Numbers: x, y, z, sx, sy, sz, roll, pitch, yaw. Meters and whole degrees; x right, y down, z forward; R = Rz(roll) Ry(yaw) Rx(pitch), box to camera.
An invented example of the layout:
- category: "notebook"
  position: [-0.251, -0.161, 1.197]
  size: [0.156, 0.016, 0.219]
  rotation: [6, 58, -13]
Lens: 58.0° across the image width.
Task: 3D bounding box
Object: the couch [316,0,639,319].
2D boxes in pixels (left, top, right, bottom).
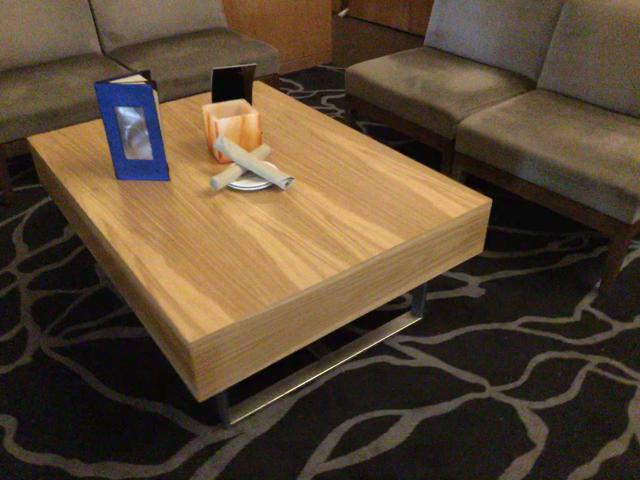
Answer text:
- category: "couch"
  position: [0.760, -0.580, 2.320]
  size: [0.780, 0.830, 1.580]
  rotation: [-21, 40, -29]

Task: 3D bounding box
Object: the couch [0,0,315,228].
- category: "couch"
  position: [-0.960, -0.810, 2.690]
  size: [1.710, 0.780, 0.860]
  rotation: [-24, 41, -32]
